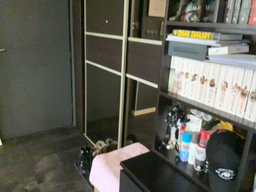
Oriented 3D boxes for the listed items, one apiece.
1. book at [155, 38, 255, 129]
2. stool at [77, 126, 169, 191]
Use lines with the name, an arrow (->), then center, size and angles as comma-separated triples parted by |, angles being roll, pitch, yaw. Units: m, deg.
book -> 0.490, -0.080, 0.950 | 0.260, 0.290, 0.770 | -9, 22, -35
stool -> -0.070, 0.660, 1.720 | 0.500, 0.570, 0.530 | -9, 22, -34
